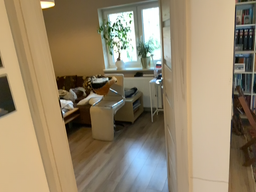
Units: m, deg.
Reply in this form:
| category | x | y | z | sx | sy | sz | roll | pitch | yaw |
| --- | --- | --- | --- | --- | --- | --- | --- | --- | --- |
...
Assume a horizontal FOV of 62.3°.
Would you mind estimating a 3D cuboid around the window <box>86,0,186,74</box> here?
| category | x | y | z | sx | sy | sz | roll | pitch | yaw |
| --- | --- | --- | --- | --- | --- | --- | --- | --- | --- |
| window | 0.130 | -1.060 | 3.920 | 1.800 | 1.290 | 0.120 | 1 | 18 | 21 |
